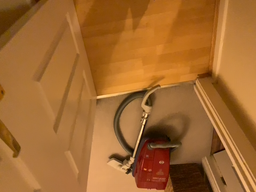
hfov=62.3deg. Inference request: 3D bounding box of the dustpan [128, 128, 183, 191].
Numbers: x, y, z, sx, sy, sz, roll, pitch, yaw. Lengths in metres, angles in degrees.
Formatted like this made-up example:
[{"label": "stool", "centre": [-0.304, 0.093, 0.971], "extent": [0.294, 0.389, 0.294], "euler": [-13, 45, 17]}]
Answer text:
[{"label": "dustpan", "centre": [0.210, 0.580, 1.870], "extent": [0.350, 0.270, 0.560], "euler": [1, 128, -6]}]
